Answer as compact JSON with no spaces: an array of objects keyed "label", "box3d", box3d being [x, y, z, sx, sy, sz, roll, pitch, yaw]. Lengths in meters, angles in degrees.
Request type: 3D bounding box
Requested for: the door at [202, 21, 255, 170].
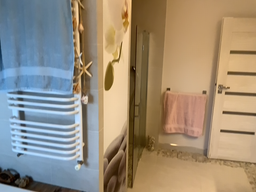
[{"label":"door","box3d":[1.580,0.030,3.010,0.780,2.060,0.190,4,13,12]}]
